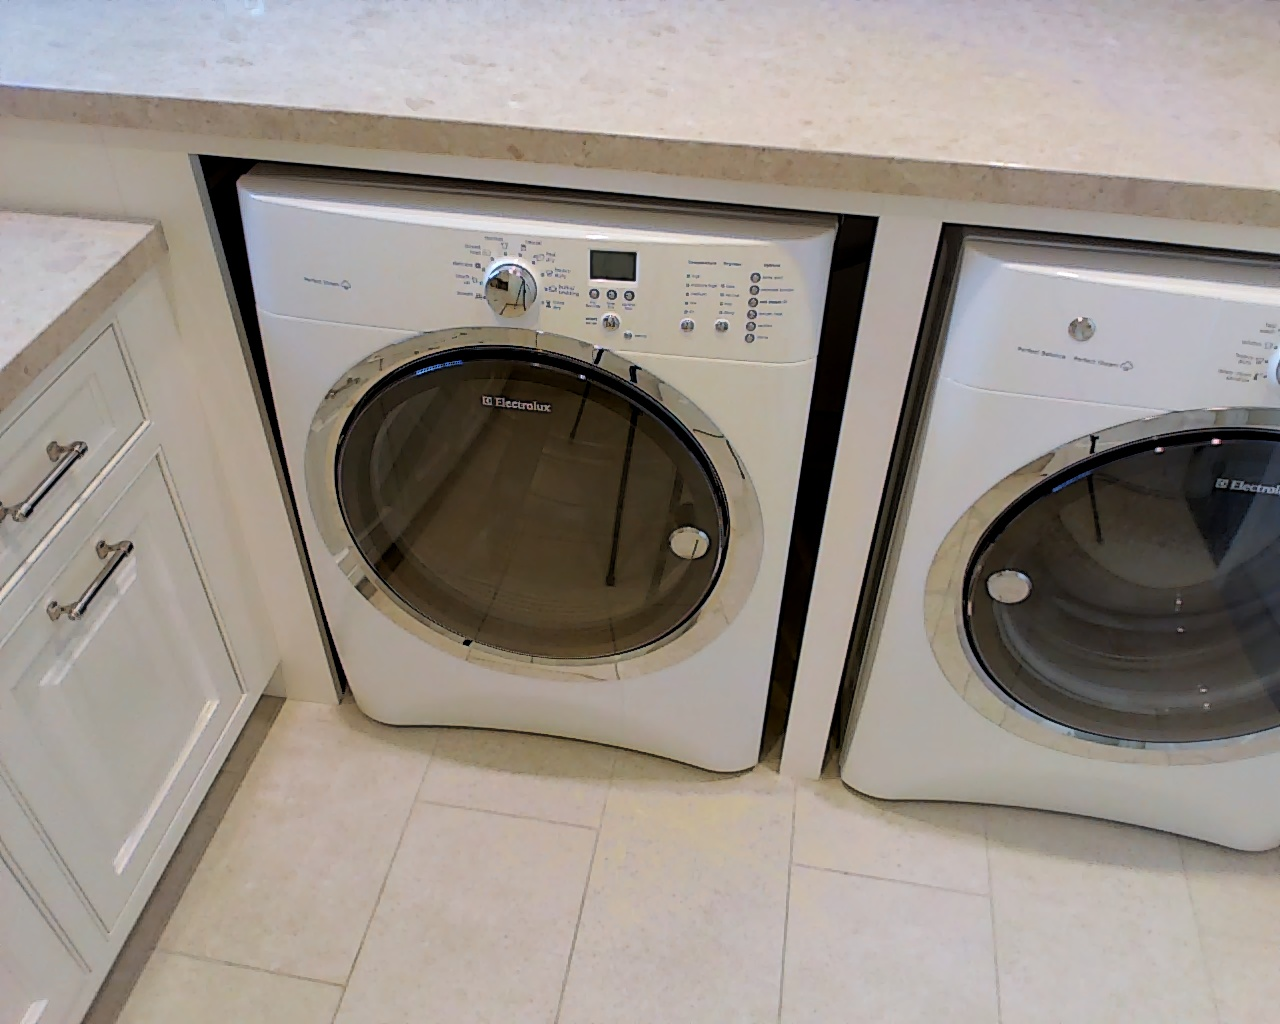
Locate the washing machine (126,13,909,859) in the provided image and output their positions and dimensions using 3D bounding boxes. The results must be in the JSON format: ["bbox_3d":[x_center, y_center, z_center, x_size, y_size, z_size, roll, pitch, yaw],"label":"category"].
[{"bbox_3d":[-0.090,-0.090,1.650,0.800,1.060,0.630,6,42,7],"label":"washing machine"}]

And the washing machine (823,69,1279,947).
[{"bbox_3d":[0.750,0.040,1.520,0.820,1.060,0.570,7,42,8],"label":"washing machine"}]
